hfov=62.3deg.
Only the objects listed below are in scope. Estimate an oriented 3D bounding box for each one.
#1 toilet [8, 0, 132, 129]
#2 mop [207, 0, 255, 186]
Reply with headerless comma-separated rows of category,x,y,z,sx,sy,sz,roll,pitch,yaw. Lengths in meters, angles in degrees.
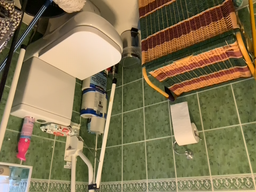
toilet,-0.340,-0.260,1.360,0.630,0.780,0.360,-17,150,32
mop,0.660,-0.220,1.080,0.310,1.240,0.260,-18,150,34
